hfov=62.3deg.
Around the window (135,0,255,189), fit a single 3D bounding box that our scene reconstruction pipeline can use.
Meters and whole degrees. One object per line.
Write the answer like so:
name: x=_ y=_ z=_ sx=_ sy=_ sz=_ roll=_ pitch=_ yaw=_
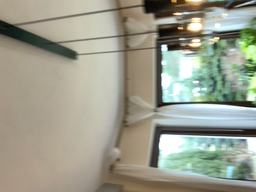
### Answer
window: x=1.140 y=-0.390 z=2.810 sx=1.120 sy=1.840 sz=2.700 roll=6 pitch=-97 yaw=-73
